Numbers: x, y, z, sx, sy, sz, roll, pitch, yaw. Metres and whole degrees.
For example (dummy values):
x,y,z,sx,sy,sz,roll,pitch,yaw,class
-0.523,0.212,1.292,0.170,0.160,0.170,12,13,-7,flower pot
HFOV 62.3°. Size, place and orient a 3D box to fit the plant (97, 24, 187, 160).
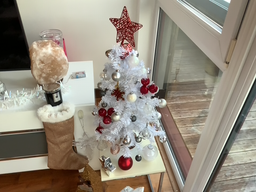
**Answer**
x,y,z,sx,sy,sz,roll,pitch,yaw,class
0.020,-0.020,0.950,0.280,0.480,0.350,-3,38,-7,plant
